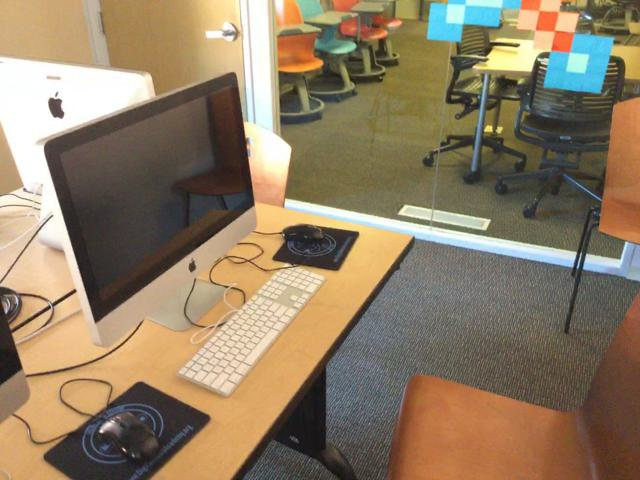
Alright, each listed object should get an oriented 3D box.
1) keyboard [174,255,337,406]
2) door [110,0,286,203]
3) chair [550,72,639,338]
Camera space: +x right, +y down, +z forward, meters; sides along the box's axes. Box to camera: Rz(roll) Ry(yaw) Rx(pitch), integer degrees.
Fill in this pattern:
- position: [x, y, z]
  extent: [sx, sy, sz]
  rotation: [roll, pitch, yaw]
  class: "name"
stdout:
- position: [-0.110, 0.160, 1.180]
  extent: [0.120, 0.030, 0.440]
  rotation: [12, 33, 23]
  class: "keyboard"
- position: [-0.630, -0.890, 3.040]
  extent: [0.800, 1.270, 0.280]
  rotation: [12, 32, 22]
  class: "door"
- position: [1.270, -0.130, 2.210]
  extent: [0.540, 0.840, 0.550]
  rotation: [12, 32, 22]
  class: "chair"
